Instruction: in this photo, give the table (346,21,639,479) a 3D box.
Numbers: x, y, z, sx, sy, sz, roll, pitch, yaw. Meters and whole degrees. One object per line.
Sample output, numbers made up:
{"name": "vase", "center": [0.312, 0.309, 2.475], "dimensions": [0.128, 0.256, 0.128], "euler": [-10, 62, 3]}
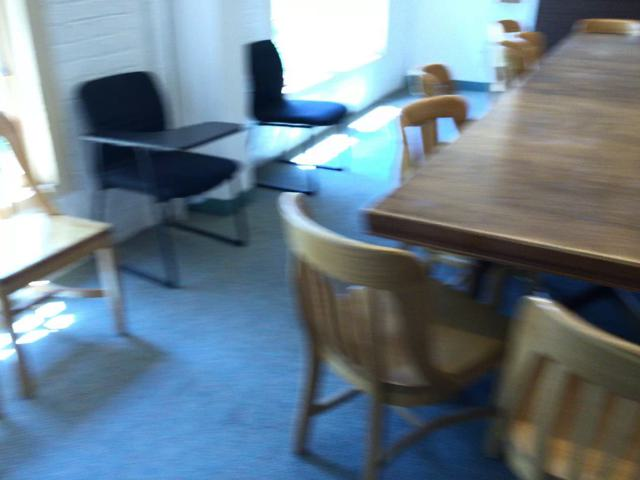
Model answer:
{"name": "table", "center": [1.540, -0.370, 2.640], "dimensions": [1.440, 0.880, 3.540], "euler": [11, 28, 26]}
